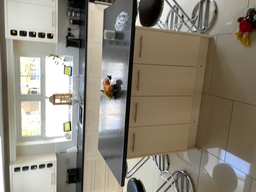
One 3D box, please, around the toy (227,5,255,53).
[{"bbox_3d":[0.960,-0.560,1.810,0.200,0.060,0.350,-170,80,-66],"label":"toy"}]
